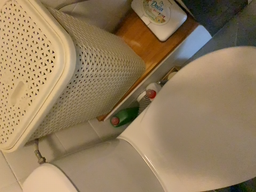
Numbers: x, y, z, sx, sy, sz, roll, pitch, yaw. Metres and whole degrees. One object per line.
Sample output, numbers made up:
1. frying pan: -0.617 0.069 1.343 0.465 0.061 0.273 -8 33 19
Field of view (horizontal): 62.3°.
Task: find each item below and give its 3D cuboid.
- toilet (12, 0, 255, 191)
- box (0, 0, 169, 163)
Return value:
1. toilet: 0.210 0.120 0.750 0.670 0.830 0.360 -45 74 24
2. box: -0.180 -0.080 0.770 0.430 0.560 0.280 -46 74 24
